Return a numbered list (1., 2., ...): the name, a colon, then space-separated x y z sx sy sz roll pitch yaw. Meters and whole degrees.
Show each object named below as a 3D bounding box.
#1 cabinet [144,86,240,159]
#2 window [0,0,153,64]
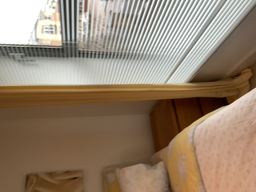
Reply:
1. cabinet: 0.520 0.260 1.950 0.610 0.530 0.470 117 149 -60
2. window: -0.540 -0.490 1.150 0.900 1.300 0.120 118 148 -61
